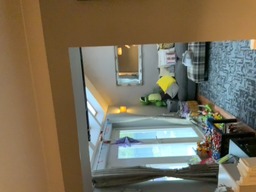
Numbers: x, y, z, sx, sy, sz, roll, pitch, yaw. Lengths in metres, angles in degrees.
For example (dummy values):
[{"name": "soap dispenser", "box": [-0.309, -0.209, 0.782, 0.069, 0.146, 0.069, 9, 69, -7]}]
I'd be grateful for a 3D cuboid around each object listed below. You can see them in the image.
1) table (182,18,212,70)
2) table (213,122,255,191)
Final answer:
[{"name": "table", "box": [1.400, -1.090, 4.400, 0.660, 0.330, 0.950, -94, 2, -72]}, {"name": "table", "box": [1.430, 0.720, 2.520, 0.720, 0.500, 0.540, -96, 3, -72]}]
